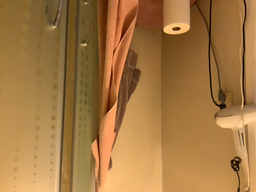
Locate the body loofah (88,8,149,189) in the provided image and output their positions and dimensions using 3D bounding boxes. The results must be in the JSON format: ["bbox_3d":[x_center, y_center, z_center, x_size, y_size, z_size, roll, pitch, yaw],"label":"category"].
[{"bbox_3d":[-0.060,0.010,1.290,0.300,0.960,0.240,2,174,-21],"label":"body loofah"}]
